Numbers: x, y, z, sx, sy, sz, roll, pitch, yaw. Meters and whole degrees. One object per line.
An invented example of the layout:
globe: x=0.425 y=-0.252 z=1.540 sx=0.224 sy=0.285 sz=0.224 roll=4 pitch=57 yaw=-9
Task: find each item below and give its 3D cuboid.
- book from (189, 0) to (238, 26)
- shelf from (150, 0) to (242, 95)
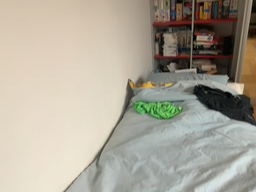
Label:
book: x=1.010 y=-1.060 z=2.540 sx=0.490 sy=0.350 sz=0.340 roll=4 pitch=30 yaw=19
shelf: x=0.790 y=-1.310 z=2.490 sx=0.990 sy=2.650 sz=0.420 roll=4 pitch=30 yaw=19
